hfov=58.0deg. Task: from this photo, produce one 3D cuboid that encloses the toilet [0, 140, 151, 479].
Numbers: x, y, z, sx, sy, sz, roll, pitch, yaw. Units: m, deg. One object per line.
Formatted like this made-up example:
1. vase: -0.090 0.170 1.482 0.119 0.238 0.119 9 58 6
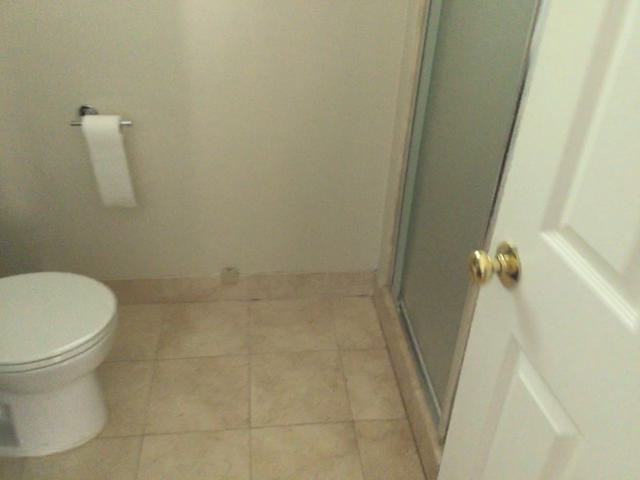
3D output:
1. toilet: -0.890 0.190 1.510 0.730 0.740 0.480 -3 33 -8
